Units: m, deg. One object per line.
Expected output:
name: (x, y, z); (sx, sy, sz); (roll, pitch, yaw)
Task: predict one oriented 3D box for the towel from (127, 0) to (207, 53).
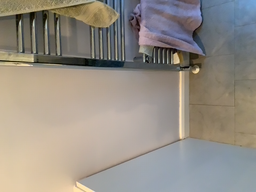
towel: (0.240, -0.430, 1.150); (0.120, 0.550, 0.340); (10, 101, 43)
